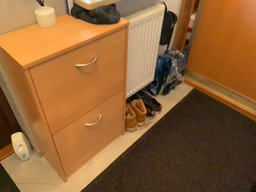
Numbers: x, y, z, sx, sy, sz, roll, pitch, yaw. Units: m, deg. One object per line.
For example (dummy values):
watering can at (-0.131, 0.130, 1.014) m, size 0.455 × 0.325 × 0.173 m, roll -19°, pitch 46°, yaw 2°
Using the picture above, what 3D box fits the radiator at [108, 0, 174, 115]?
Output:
radiator at (0.080, -0.260, 1.490) m, size 0.140 × 0.710 × 0.450 m, roll 32°, pitch 51°, yaw 27°
